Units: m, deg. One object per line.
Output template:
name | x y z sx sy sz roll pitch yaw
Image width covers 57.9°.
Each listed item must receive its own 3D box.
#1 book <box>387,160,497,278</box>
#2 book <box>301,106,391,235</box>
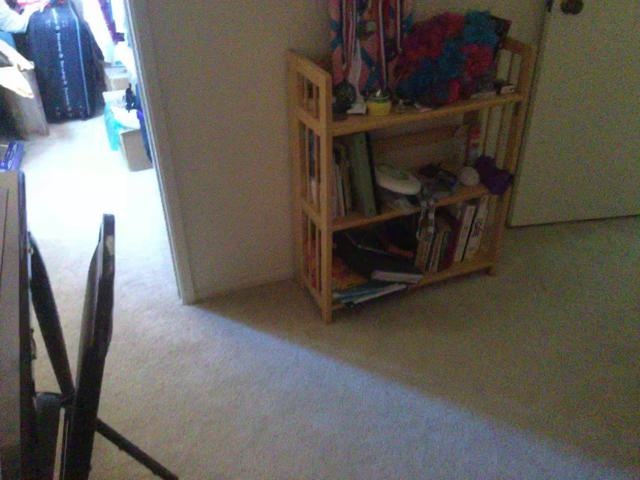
book | 0.420 -0.080 2.040 0.290 0.280 0.220 -18 36 -21
book | 0.080 -0.210 1.730 0.200 0.300 0.170 -18 36 -21
